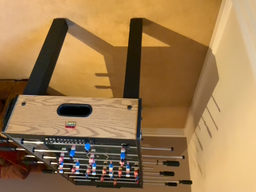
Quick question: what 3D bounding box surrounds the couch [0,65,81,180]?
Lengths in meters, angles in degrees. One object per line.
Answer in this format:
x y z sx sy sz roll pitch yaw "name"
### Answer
-1.450 0.350 2.210 1.520 0.720 1.180 0 148 6 "couch"
